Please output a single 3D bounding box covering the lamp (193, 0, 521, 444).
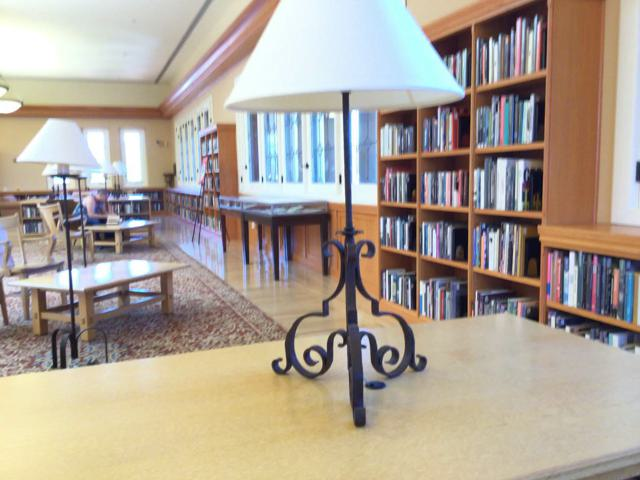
[{"bbox_3d":[0.040,-0.150,1.170,0.480,0.860,0.510,-4,7,-19],"label":"lamp"}]
